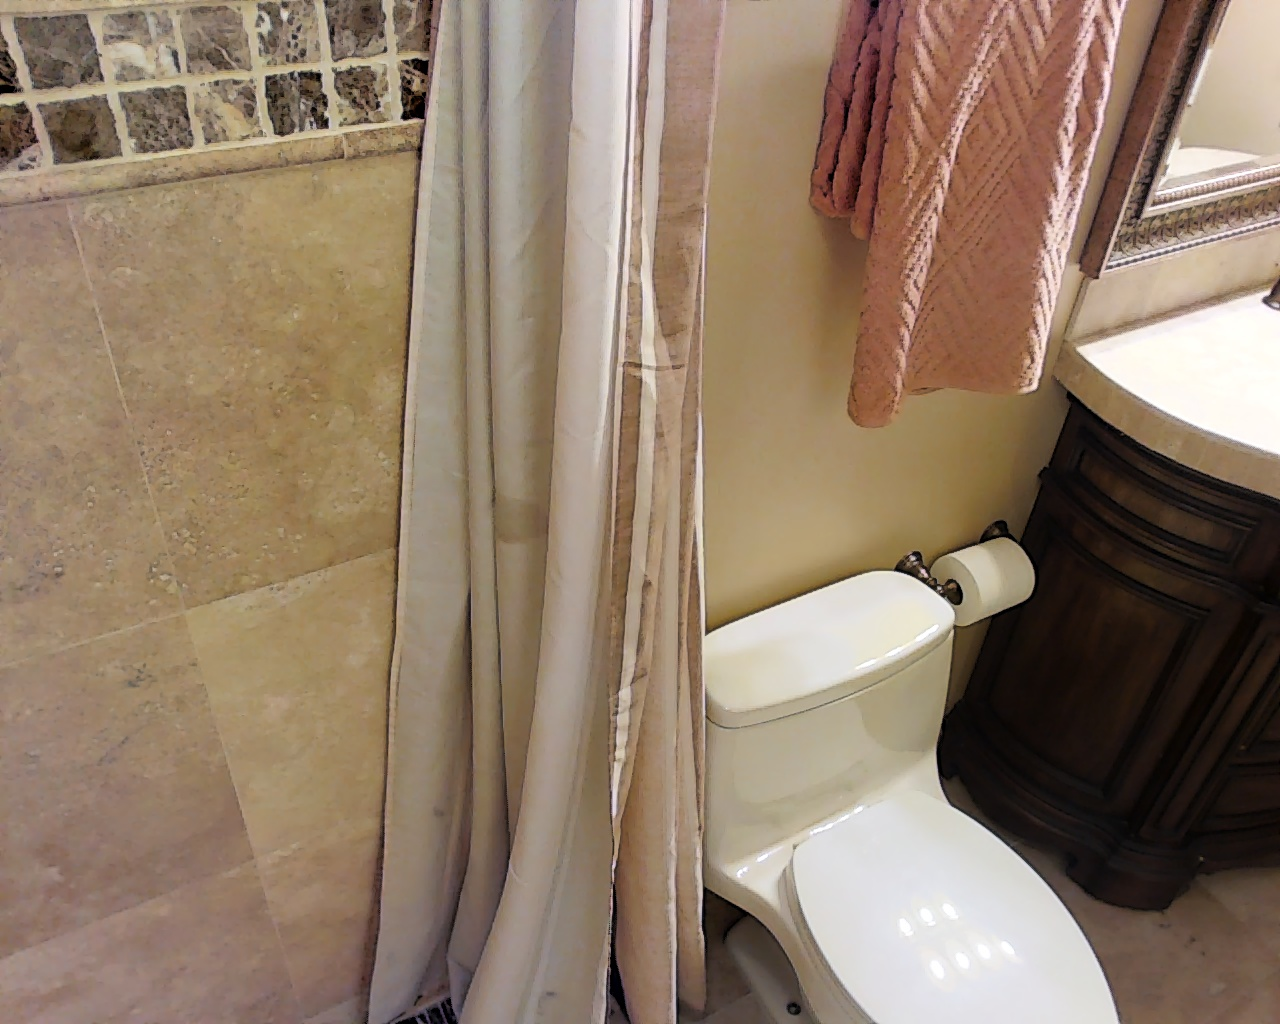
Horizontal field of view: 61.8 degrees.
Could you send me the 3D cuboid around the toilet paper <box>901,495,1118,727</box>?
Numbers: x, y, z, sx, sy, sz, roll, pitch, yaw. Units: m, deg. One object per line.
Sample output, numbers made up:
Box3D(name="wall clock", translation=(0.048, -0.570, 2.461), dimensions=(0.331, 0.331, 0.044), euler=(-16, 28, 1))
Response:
Box3D(name="toilet paper", translation=(0.590, 0.160, 1.740), dimensions=(0.200, 0.280, 0.180), euler=(-18, 45, -25))
